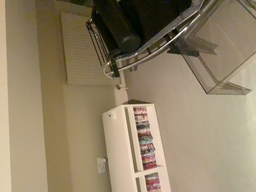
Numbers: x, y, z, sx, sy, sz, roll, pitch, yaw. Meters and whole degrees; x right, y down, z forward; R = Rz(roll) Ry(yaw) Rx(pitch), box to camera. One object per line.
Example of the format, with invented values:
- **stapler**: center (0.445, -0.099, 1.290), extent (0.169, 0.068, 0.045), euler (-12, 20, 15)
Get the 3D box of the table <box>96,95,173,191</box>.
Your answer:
- **table**: center (0.060, 0.660, 2.010), extent (0.480, 0.390, 1.260), euler (-28, 68, 52)
